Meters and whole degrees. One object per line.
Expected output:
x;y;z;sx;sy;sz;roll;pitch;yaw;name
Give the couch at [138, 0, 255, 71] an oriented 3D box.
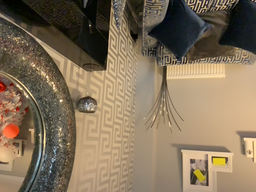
0.820;-0.790;1.940;1.360;0.730;1.080;3;168;0;couch
